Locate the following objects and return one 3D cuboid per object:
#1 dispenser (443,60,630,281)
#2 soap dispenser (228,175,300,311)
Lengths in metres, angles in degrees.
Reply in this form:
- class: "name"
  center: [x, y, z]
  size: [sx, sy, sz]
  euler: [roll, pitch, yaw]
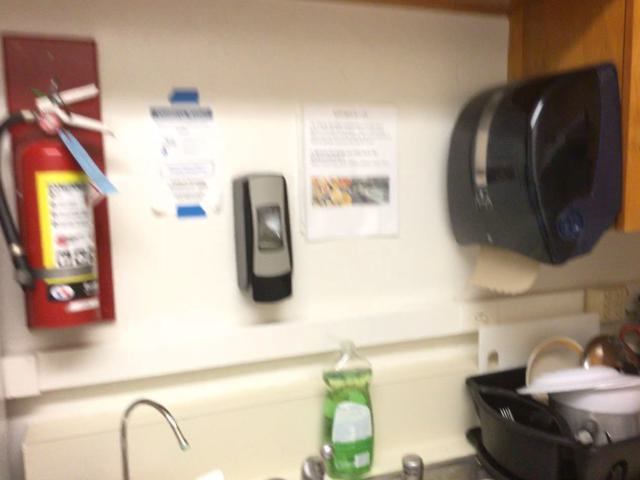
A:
- class: "dispenser"
  center: [0.420, -0.140, 1.190]
  size: [0.160, 0.380, 0.350]
  euler: [-4, 8, -20]
- class: "soap dispenser"
  center: [-0.110, 0.000, 1.130]
  size: [0.110, 0.250, 0.100]
  euler: [-4, 8, -21]
